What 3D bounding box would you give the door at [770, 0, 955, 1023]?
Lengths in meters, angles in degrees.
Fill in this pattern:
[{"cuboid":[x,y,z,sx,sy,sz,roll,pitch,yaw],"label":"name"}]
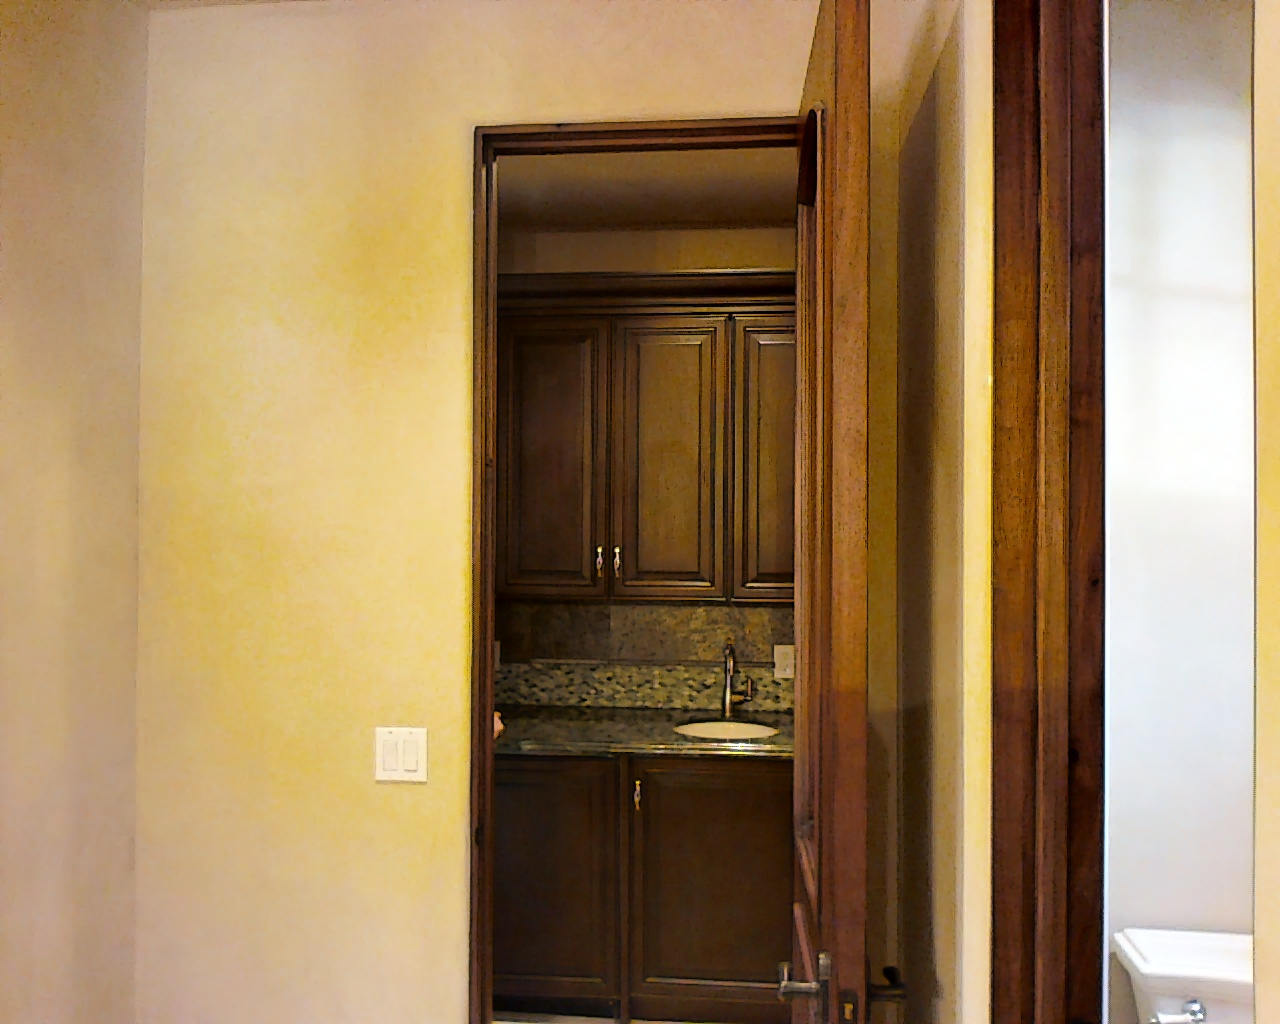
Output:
[{"cuboid":[0.360,0.410,1.920,0.240,2.400,0.880,0,-1,6],"label":"door"}]
